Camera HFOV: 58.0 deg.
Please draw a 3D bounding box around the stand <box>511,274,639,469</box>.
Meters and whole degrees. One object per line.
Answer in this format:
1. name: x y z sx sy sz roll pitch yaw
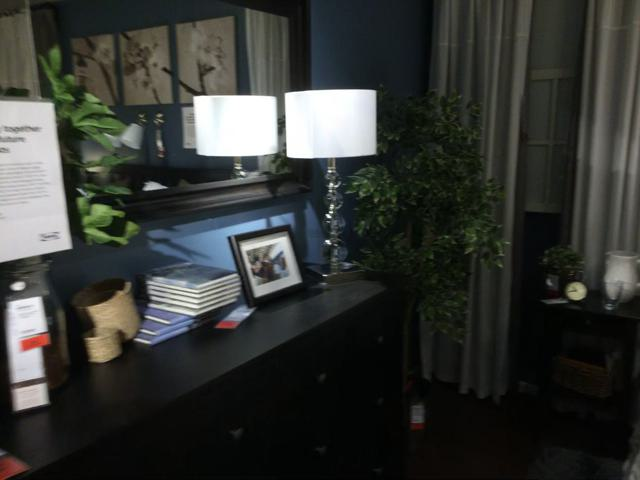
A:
1. stand: 1.260 0.540 2.570 0.550 0.670 0.500 -2 11 43
